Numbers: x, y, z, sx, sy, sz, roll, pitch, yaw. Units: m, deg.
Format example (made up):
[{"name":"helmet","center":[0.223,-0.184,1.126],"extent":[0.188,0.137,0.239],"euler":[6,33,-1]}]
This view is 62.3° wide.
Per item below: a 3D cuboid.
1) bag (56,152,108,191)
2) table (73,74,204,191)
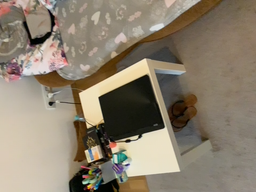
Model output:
[{"name":"bag","center":[-0.350,0.850,1.800],"extent":[0.190,0.320,0.640],"euler":[-22,80,37]},{"name":"table","center":[0.060,0.220,1.350],"extent":[0.540,0.450,0.530],"euler":[-26,77,36]}]
